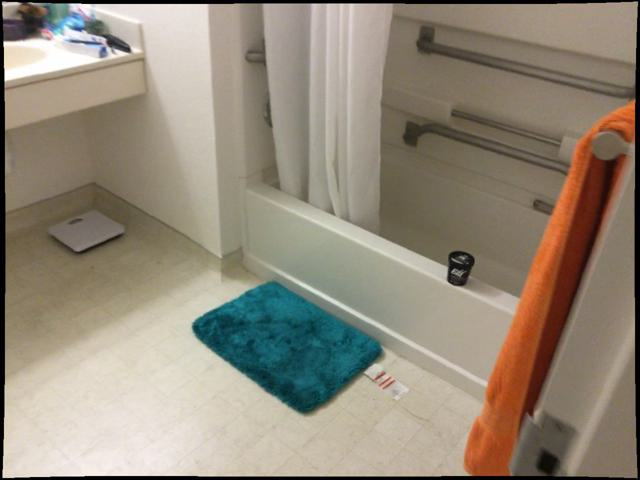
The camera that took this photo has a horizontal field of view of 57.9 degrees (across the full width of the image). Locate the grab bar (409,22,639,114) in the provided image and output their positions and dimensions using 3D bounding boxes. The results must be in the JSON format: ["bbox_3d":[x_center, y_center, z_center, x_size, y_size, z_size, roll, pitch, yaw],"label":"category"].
[{"bbox_3d":[0.719,-0.641,2.090,0.850,0.110,0.110,26,39,30],"label":"grab bar"}]

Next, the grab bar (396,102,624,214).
[{"bbox_3d":[0.699,-0.340,2.250,0.850,0.140,0.130,26,39,30],"label":"grab bar"}]
